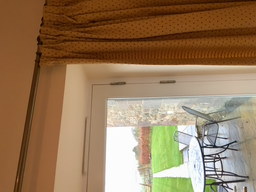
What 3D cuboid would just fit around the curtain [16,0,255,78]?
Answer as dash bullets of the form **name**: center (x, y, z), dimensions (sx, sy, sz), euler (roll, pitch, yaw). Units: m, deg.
- **curtain**: center (0.650, -0.400, 1.110), dimensions (0.280, 2.290, 0.480), euler (83, -173, -70)
